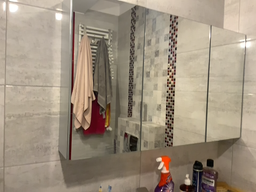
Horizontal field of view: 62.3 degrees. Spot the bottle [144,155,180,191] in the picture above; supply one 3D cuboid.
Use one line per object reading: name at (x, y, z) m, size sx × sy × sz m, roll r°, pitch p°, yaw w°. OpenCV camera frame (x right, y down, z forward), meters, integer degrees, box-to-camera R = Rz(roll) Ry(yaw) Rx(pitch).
bottle at (0.170, 0.450, 1.080) m, size 0.140 × 0.250 × 0.110 m, roll 1°, pitch 2°, yaw -35°
